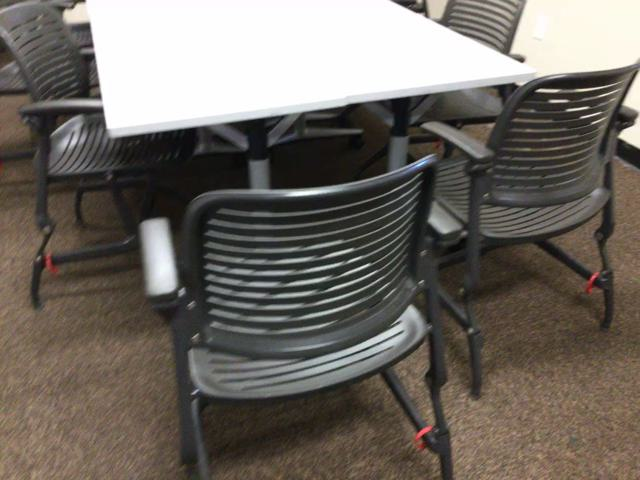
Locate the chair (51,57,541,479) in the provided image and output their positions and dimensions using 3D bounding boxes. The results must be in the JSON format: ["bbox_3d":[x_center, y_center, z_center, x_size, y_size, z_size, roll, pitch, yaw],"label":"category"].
[{"bbox_3d":[-0.090,0.170,1.190,0.620,0.850,0.620,-15,36,-20],"label":"chair"}]

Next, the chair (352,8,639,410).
[{"bbox_3d":[0.500,-0.120,1.640,0.600,0.860,0.580,-15,36,-21],"label":"chair"}]

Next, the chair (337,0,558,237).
[{"bbox_3d":[0.420,-0.550,2.240,0.520,0.790,0.610,-12,35,-16],"label":"chair"}]

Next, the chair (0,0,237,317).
[{"bbox_3d":[-0.690,-0.340,1.920,0.610,0.830,0.670,-12,35,-16],"label":"chair"}]
